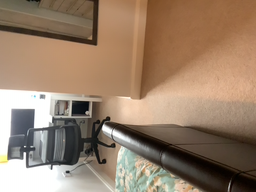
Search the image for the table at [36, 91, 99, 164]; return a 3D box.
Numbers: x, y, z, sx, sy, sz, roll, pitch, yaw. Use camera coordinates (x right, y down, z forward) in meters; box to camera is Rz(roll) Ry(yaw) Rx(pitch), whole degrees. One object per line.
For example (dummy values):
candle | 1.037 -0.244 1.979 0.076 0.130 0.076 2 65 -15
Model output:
table | -0.920 0.430 3.190 0.550 0.730 0.940 8 94 60
